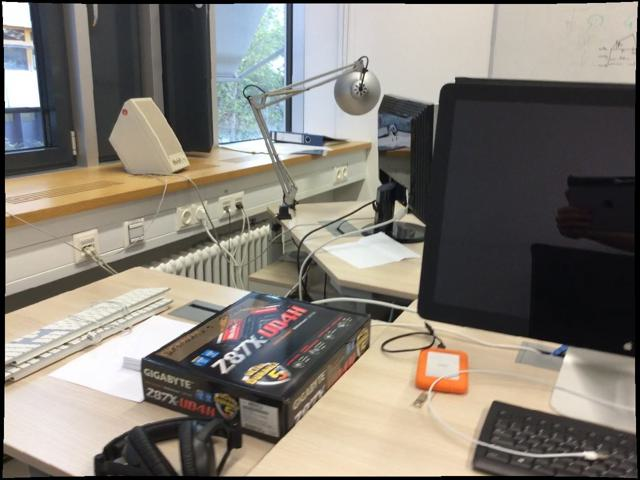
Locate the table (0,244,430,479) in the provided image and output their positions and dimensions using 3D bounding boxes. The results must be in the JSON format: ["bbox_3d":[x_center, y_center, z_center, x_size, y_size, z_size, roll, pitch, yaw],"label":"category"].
[{"bbox_3d":[-0.330,0.320,1.200,0.899,0.310,0.750,10,18,25],"label":"table"}]

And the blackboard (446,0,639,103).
[{"bbox_3d":[1.239,-1.041,2.260,1.389,0.971,0.140,10,18,25],"label":"blackboard"}]
